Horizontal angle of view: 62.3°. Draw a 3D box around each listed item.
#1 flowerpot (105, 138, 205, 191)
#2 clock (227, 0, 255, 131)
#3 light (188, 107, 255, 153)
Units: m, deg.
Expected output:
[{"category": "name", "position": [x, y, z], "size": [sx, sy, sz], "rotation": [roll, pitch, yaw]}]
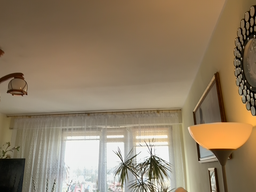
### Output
[{"category": "flowerpot", "position": [0.390, 1.600, 3.130], "size": [1.220, 1.800, 0.860], "rotation": [-15, -22, 40]}, {"category": "clock", "position": [0.580, -0.170, 0.860], "size": [0.120, 0.560, 0.480], "rotation": [-2, -17, 7]}, {"category": "light", "position": [0.450, 0.180, 1.010], "size": [0.260, 0.160, 0.390], "rotation": [-3, -17, 8]}]
